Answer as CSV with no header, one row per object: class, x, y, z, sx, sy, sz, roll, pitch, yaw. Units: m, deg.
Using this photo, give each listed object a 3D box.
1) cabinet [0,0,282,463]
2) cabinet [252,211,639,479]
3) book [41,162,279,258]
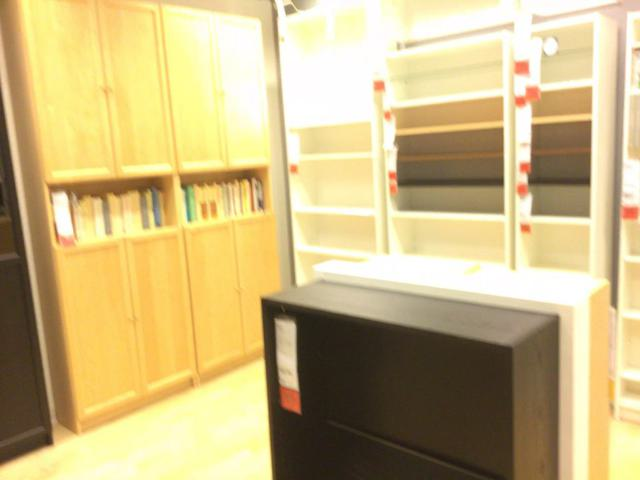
cabinet,-1.030,-0.160,3.520,0.710,2.290,1.590,2,7,33
cabinet,0.290,0.690,1.680,0.500,1.220,0.920,-20,37,-39
book,-0.890,-0.230,3.530,0.440,0.390,1.420,20,16,30
